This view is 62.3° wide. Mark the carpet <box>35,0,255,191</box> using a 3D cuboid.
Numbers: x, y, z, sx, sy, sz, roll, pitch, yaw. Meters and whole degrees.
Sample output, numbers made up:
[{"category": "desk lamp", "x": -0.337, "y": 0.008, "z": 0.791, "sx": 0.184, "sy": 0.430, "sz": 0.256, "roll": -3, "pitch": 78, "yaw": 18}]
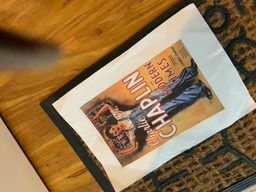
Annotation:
[{"category": "carpet", "x": 0.180, "y": -0.010, "z": 0.390, "sx": 0.620, "sy": 0.060, "sz": 0.360, "roll": -36, "pitch": 95, "yaw": 11}]
